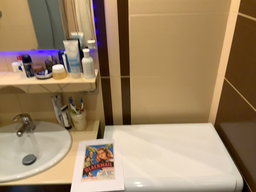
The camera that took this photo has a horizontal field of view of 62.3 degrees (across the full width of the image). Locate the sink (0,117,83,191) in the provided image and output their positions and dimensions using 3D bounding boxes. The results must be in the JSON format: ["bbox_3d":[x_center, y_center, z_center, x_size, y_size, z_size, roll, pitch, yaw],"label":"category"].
[{"bbox_3d":[-0.530,0.320,1.080,0.510,0.220,0.400,-1,30,0],"label":"sink"}]
